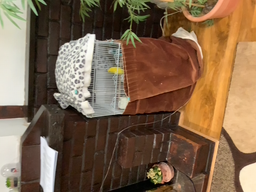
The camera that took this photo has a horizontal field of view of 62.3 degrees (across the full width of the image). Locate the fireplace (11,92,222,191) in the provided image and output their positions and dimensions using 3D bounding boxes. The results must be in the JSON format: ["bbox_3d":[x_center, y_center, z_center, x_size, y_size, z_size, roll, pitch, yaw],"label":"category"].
[{"bbox_3d":[-0.190,0.950,1.590,0.830,1.140,1.820,23,109,53],"label":"fireplace"}]
